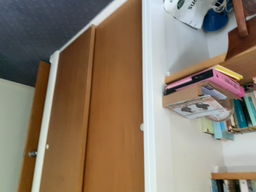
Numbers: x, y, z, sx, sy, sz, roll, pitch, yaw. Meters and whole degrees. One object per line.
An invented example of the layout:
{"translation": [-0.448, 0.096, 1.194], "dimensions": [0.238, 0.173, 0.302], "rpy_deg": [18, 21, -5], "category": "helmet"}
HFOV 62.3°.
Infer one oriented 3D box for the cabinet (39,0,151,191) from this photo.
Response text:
{"translation": [-0.300, 0.230, 1.450], "dimensions": [0.040, 1.720, 1.120], "rpy_deg": [19, 153, -41], "category": "cabinet"}
